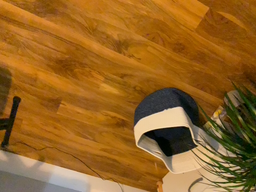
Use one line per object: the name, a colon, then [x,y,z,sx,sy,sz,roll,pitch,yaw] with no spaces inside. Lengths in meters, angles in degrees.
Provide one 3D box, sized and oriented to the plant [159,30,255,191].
plant: [0.510,0.080,1.000,0.470,0.760,0.430,15,121,-12]
